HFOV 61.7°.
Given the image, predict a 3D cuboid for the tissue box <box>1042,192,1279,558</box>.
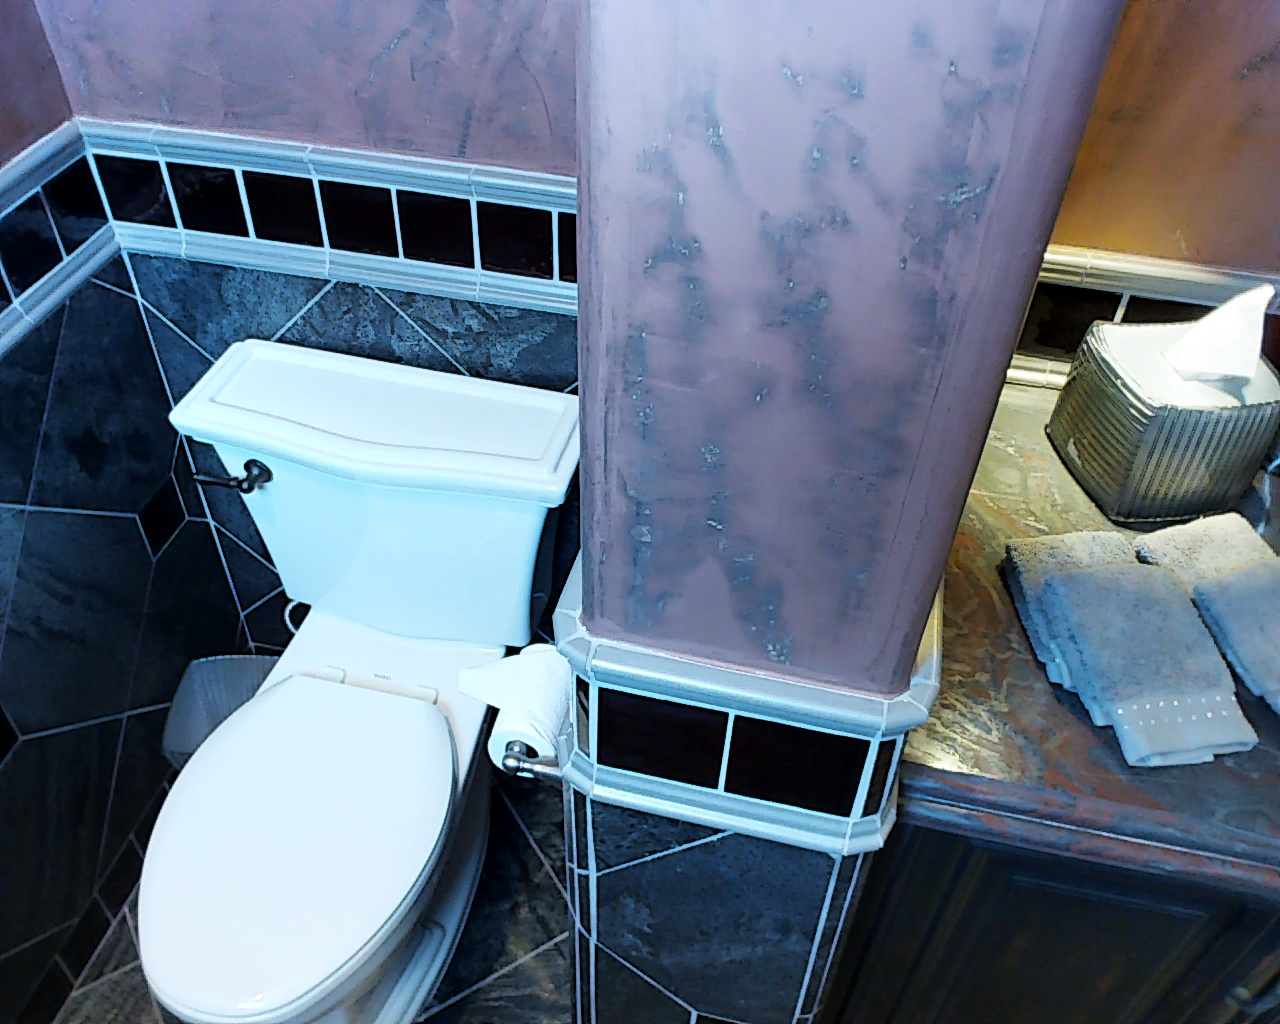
[{"bbox_3d":[0.560,-0.140,1.080,0.220,0.250,0.230,10,44,8],"label":"tissue box"}]
